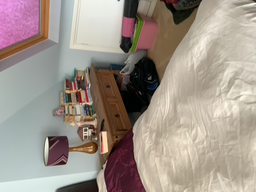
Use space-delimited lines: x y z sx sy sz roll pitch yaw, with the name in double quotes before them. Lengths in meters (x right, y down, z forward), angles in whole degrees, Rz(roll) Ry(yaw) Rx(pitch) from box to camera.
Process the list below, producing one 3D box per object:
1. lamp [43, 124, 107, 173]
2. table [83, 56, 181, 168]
"lamp" -0.550 0.520 2.150 0.310 0.570 0.320 -113 32 -44
"table" -0.060 0.100 2.740 1.460 0.790 0.440 -113 32 -43
